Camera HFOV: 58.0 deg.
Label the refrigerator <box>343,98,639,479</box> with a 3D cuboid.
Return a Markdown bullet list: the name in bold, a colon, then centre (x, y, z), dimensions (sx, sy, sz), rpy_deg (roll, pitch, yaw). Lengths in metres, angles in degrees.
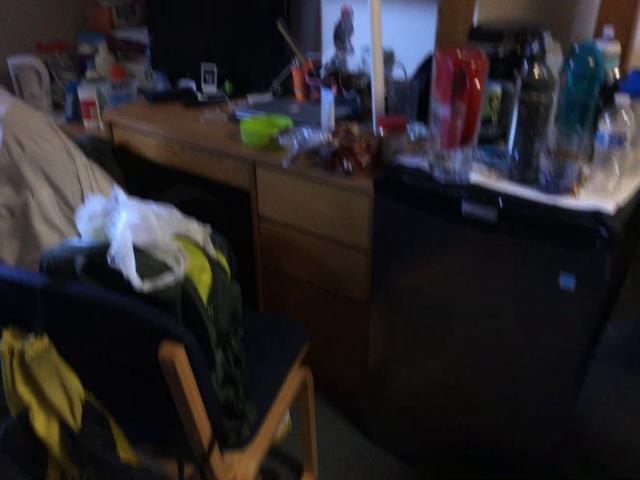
- **refrigerator**: centre (0.460, 0.150, 1.520), dimensions (0.570, 0.870, 0.550), rpy_deg (18, 31, 31)

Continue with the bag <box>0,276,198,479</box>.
- **bag**: centre (-0.420, 0.350, 1.030), dimensions (0.330, 0.450, 0.210), rpy_deg (18, 31, 31)
